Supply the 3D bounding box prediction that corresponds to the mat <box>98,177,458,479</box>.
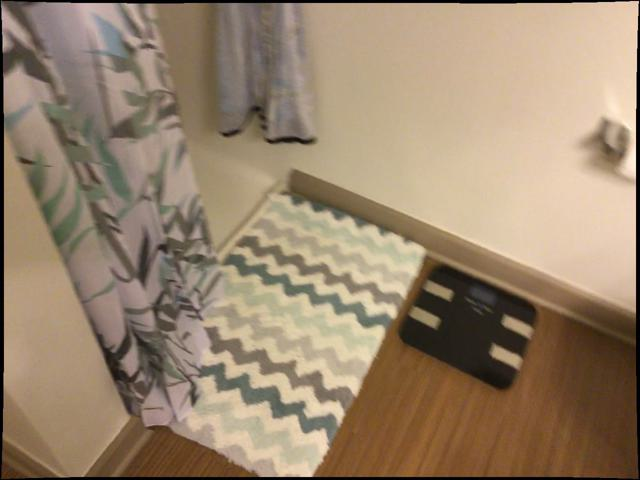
[{"bbox_3d":[-0.060,0.211,1.560,0.579,0.050,0.870,26,53,16],"label":"mat"}]
